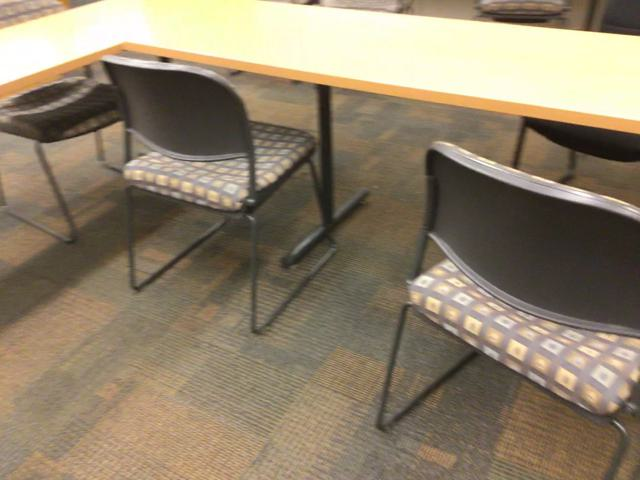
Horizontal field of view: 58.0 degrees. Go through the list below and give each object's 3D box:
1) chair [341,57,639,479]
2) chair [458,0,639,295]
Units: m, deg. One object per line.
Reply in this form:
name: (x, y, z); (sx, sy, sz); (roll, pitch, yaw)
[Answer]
chair: (0.450, 0.100, 1.160); (0.570, 0.710, 0.580); (27, 42, 37)
chair: (0.930, -0.410, 1.790); (0.620, 0.770, 0.700); (27, 41, 36)
